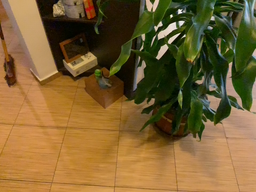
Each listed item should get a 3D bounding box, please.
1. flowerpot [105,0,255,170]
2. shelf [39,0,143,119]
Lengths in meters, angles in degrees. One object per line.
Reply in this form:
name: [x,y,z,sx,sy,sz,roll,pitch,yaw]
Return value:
flowerpot: [0.400,-0.350,1.210,0.820,1.560,0.660,-29,59,-23]
shelf: [-0.230,-0.870,0.830,0.310,2.530,0.630,-34,61,-25]
